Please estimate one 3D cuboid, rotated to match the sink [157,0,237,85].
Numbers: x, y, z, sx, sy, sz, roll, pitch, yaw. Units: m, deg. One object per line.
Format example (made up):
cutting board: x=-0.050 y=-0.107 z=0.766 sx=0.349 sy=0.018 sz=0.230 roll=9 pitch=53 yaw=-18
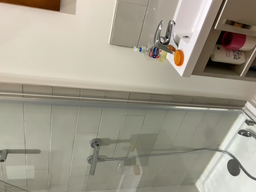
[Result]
sink: x=0.290 y=-0.380 z=0.820 sx=0.240 sy=0.110 sz=0.640 roll=-110 pitch=28 yaw=-52
